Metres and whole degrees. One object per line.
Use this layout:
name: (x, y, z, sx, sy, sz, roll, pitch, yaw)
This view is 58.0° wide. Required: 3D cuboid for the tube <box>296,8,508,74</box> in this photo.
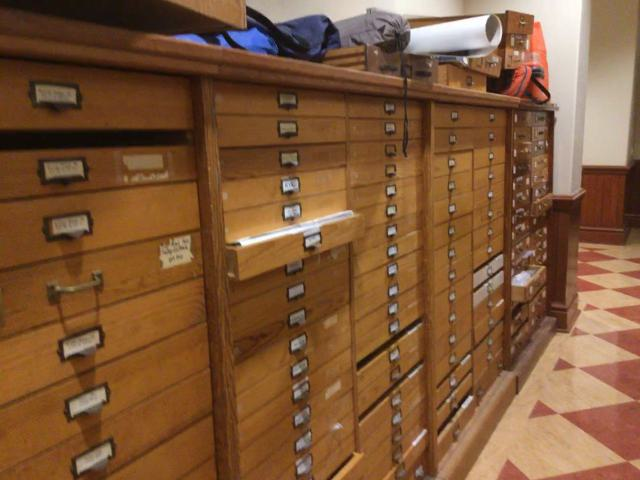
tube: (0.240, -0.690, 2.070, 0.160, 0.100, 0.890, -13, 15, -36)
